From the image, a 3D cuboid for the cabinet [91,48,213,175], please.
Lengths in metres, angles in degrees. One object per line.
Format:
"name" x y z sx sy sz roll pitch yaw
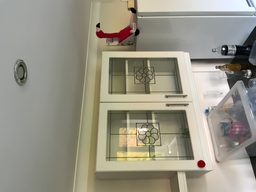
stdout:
"cabinet" 0.150 0.100 1.740 0.310 0.790 0.990 95 175 -61
